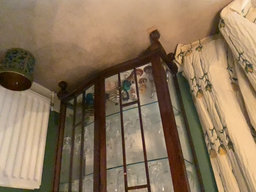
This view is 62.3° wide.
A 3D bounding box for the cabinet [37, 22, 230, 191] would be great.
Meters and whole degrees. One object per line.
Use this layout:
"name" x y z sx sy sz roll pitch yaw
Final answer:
"cabinet" -0.020 0.360 1.440 1.040 1.250 0.550 -24 144 26
